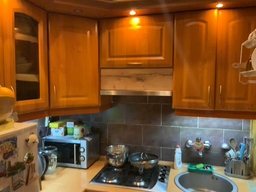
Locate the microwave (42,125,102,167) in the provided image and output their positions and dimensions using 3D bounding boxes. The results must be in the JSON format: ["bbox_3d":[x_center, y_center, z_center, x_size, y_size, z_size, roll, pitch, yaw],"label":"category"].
[{"bbox_3d":[-0.520,0.460,2.030,0.460,0.290,0.310,1,4,13],"label":"microwave"}]

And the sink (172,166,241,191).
[{"bbox_3d":[0.570,0.730,1.590,0.450,0.180,0.490,1,4,15],"label":"sink"}]

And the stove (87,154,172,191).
[{"bbox_3d":[0.050,0.610,1.750,0.570,0.020,0.580,1,4,15],"label":"stove"}]
